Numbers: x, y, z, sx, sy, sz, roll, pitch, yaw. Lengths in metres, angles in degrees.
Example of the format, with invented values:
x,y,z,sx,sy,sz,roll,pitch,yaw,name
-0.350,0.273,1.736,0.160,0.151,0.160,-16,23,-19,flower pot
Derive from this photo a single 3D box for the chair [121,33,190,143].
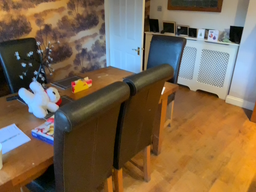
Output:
x,y,z,sx,sy,sz,roll,pitch,yaw,name
0.300,-0.120,2.510,0.470,1.090,0.600,22,32,37,chair

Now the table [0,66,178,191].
x,y,z,sx,sy,sz,roll,pitch,yaw,name
-0.390,0.370,1.850,0.880,0.760,1.580,21,33,36,table

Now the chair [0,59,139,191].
x,y,z,sx,sy,sz,roll,pitch,yaw,name
-0.360,0.410,1.370,0.640,1.100,0.530,19,31,33,chair
